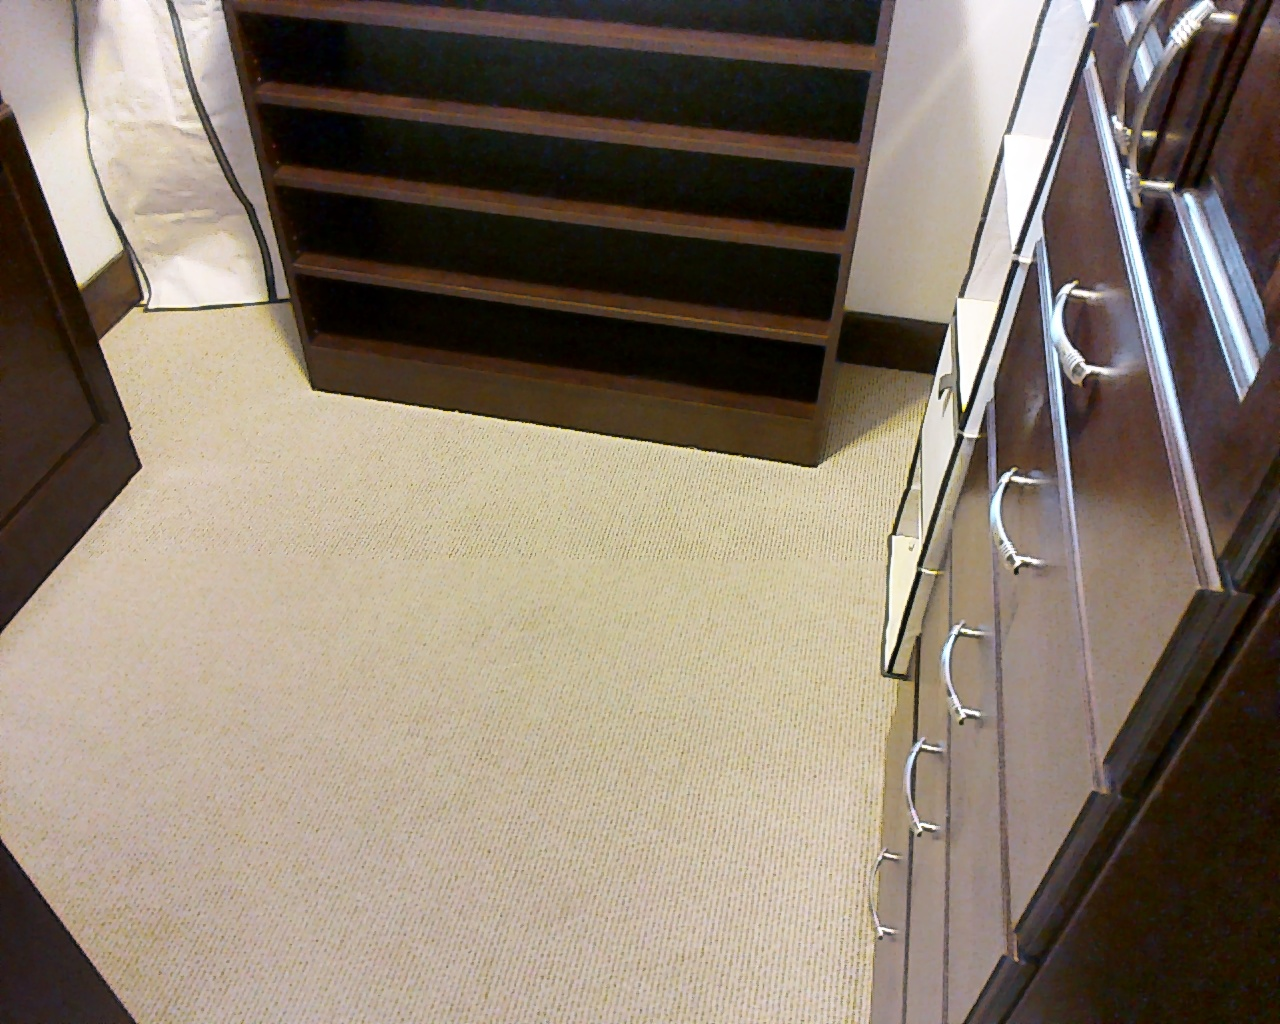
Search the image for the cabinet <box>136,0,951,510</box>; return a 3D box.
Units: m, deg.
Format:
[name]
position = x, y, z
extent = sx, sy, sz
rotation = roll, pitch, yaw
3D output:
[cabinet]
position = -0.140, -0.690, 1.980
extent = 1.250, 1.130, 0.520
rotation = 9, 43, 8
